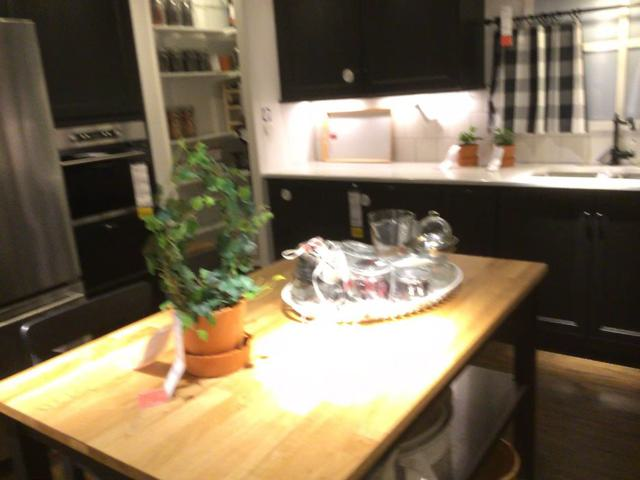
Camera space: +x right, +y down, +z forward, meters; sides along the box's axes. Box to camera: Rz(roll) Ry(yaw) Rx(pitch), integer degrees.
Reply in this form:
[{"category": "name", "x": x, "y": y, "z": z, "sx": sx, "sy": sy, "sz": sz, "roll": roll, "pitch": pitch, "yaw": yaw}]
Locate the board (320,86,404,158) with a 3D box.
[{"category": "board", "x": 0.270, "y": -0.770, "z": 3.820, "sx": 0.560, "sy": 0.440, "sz": 0.110, "roll": 7, "pitch": 19, "yaw": 38}]
